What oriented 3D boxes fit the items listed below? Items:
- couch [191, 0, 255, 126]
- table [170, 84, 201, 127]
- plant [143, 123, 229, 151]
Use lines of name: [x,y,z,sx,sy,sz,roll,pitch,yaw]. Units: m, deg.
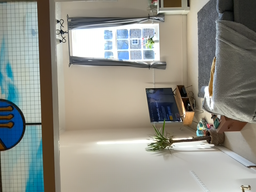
couch: [1.300,-0.840,2.500,0.980,0.780,2.210,-135,44,-88]
table: [1.400,0.220,5.350,1.060,0.440,0.500,-93,3,-50]
plant: [0.980,0.710,3.810,0.730,1.330,0.290,-117,26,-86]
